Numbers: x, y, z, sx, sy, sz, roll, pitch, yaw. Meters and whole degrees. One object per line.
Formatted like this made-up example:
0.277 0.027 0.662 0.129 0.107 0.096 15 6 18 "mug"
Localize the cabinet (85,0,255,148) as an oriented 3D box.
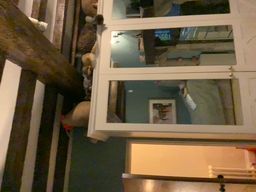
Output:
0.800 -0.470 2.430 0.710 2.240 1.980 61 -149 -72 "cabinet"
